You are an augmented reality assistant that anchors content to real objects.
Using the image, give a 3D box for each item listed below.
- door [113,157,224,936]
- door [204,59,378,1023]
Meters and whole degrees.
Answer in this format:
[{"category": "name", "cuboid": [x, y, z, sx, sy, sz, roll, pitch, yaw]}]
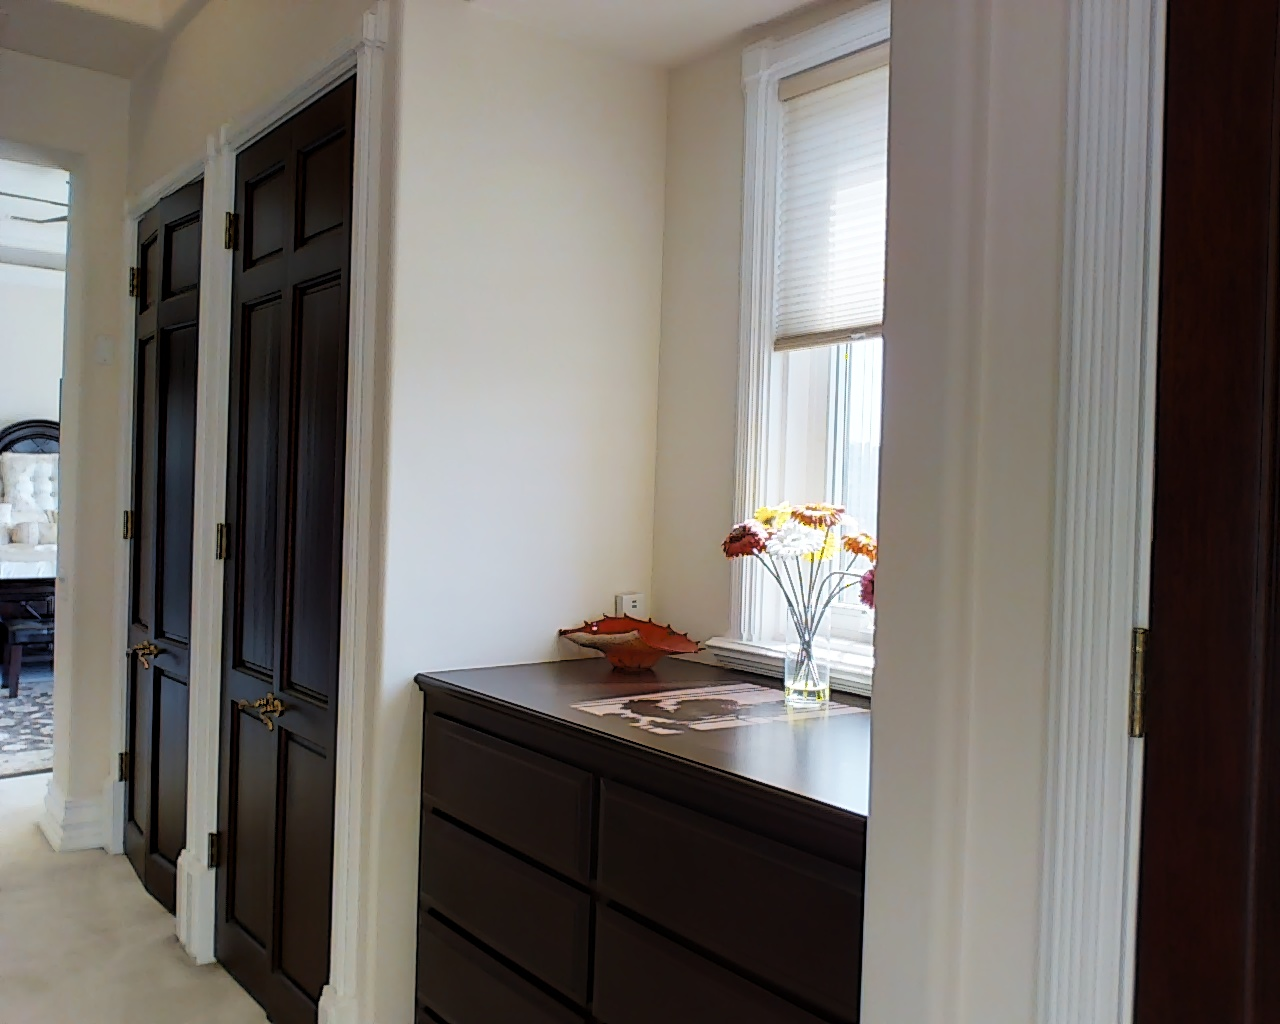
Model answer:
[{"category": "door", "cuboid": [-1.670, 0.100, 3.750, 0.060, 2.440, 0.970, 1, 1, -38]}, {"category": "door", "cuboid": [-0.960, 0.150, 2.860, 0.070, 2.410, 0.920, 1, 1, -38]}]
